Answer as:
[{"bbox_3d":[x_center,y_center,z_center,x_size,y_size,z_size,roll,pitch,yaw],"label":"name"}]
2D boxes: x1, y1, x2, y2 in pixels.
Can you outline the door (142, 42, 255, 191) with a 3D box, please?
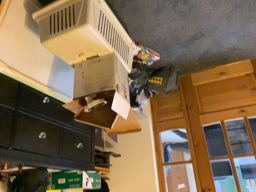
[{"bbox_3d":[0.800,0.620,1.870,1.140,2.060,0.290,-14,154,22],"label":"door"}]
